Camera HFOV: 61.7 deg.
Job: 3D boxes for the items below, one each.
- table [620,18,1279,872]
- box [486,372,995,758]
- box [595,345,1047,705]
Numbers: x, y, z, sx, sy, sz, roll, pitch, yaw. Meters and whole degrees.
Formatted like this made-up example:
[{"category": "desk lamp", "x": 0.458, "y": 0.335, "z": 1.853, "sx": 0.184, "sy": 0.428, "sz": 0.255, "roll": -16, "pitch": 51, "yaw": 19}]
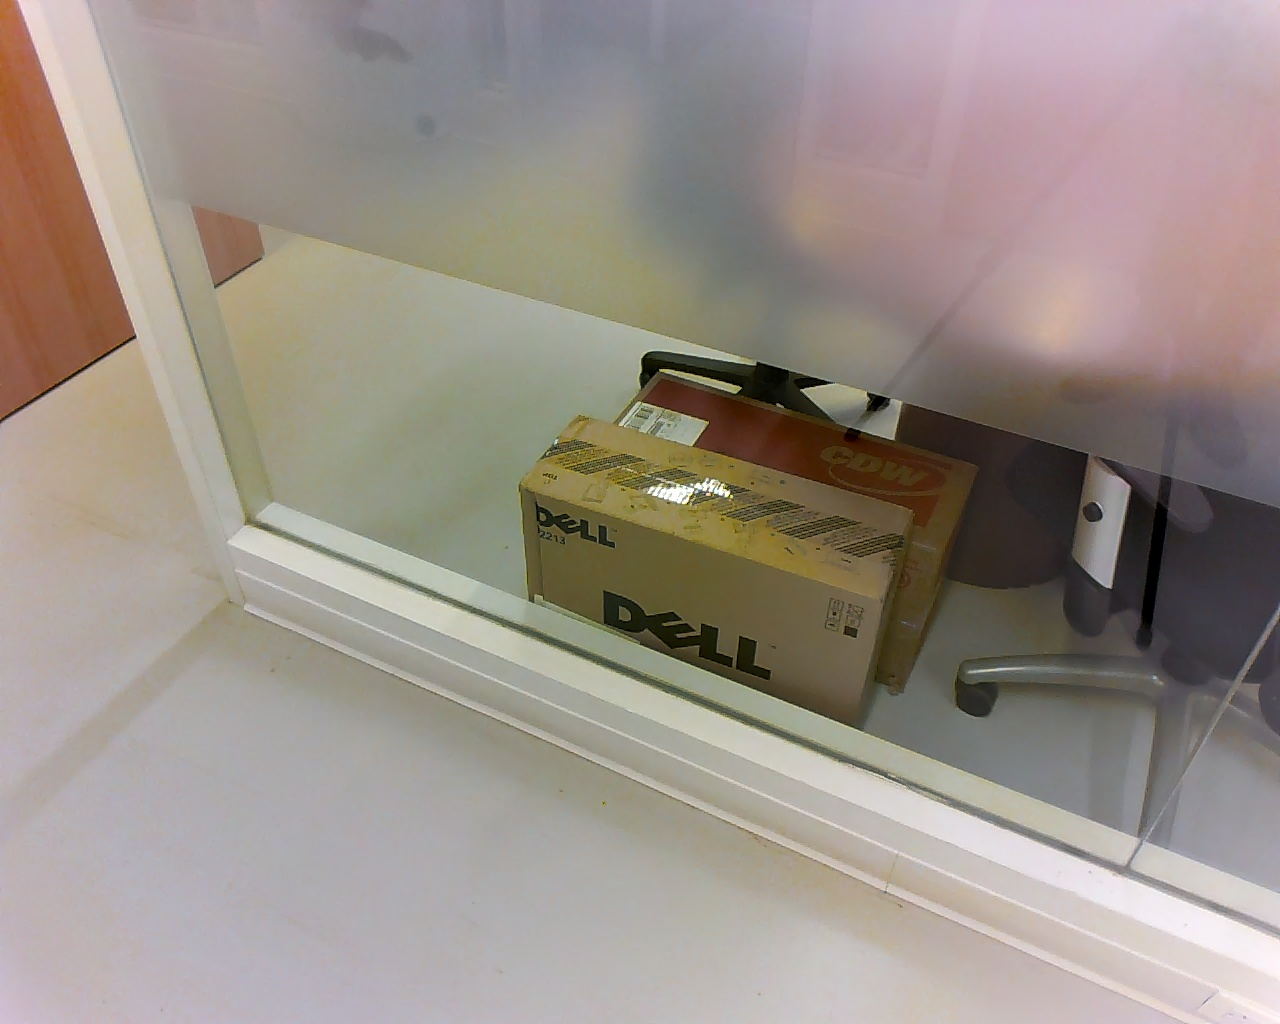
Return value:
[{"category": "table", "x": 0.740, "y": -0.250, "z": 1.940, "sx": 1.130, "sy": 0.750, "sz": 1.110, "roll": -23, "pitch": 47, "yaw": -23}, {"category": "box", "x": 0.150, "y": 0.060, "z": 1.680, "sx": 0.680, "sy": 0.260, "sz": 0.330, "roll": 18, "pitch": 47, "yaw": 19}, {"category": "box", "x": 0.300, "y": 0.010, "z": 1.920, "sx": 0.700, "sy": 0.370, "sz": 0.280, "roll": 17, "pitch": 45, "yaw": 18}]
